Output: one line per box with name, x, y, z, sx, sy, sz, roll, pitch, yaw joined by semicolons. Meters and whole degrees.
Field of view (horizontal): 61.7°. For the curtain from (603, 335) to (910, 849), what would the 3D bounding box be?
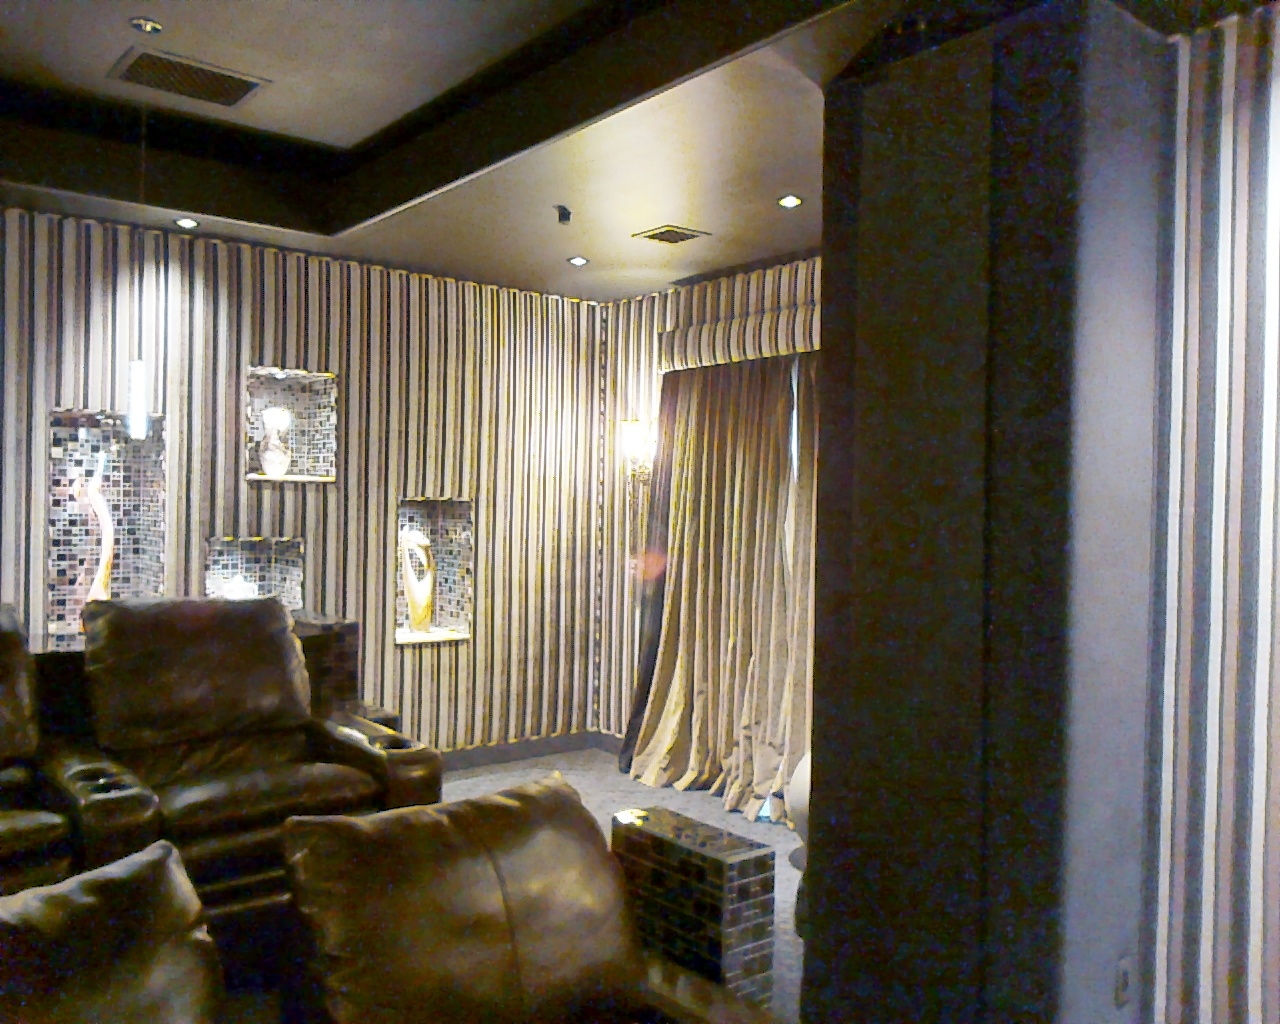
curtain;0.530;0.350;5.710;0.360;2.340;1.880;0;1;-39
